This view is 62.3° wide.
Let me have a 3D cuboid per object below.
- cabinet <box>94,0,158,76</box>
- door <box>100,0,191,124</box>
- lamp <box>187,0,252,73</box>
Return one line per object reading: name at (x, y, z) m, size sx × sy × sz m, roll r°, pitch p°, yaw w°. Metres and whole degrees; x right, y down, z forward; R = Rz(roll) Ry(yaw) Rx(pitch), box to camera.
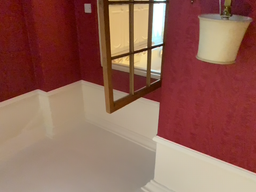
cabinet at (0.010, -0.940, 2.930) m, size 0.380 × 1.040 × 0.910 m, roll 17°, pitch -149°, yaw 31°
door at (0.170, -0.880, 1.180) m, size 0.040 × 2.010 × 0.880 m, roll 21°, pitch -148°, yaw 37°
lamp at (0.410, -0.350, 0.930) m, size 0.190 × 0.440 × 0.170 m, roll 17°, pitch -150°, yaw 31°
